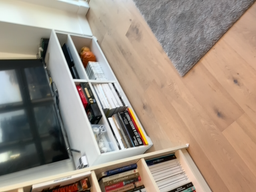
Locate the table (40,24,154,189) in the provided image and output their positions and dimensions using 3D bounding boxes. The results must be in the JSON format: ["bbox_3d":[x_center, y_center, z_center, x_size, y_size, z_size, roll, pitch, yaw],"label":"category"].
[{"bbox_3d":[-0.430,-0.010,2.150,0.500,0.510,1.610,-57,48,37],"label":"table"}]

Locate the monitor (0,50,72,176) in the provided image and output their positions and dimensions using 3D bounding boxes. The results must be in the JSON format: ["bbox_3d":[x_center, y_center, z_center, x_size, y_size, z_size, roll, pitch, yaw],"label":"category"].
[{"bbox_3d":[-1.040,0.050,1.910,0.070,0.750,1.340,-51,51,31],"label":"monitor"}]
